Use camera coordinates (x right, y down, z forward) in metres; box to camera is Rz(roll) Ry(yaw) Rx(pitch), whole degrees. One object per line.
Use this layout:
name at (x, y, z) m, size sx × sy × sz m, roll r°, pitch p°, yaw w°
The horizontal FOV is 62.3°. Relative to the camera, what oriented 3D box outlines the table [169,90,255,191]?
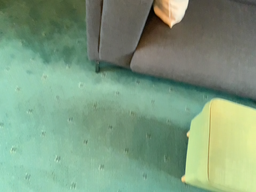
table at (0.600, 0.330, 1.070) m, size 0.620 × 0.430 × 0.410 m, roll 16°, pitch 61°, yaw -2°
